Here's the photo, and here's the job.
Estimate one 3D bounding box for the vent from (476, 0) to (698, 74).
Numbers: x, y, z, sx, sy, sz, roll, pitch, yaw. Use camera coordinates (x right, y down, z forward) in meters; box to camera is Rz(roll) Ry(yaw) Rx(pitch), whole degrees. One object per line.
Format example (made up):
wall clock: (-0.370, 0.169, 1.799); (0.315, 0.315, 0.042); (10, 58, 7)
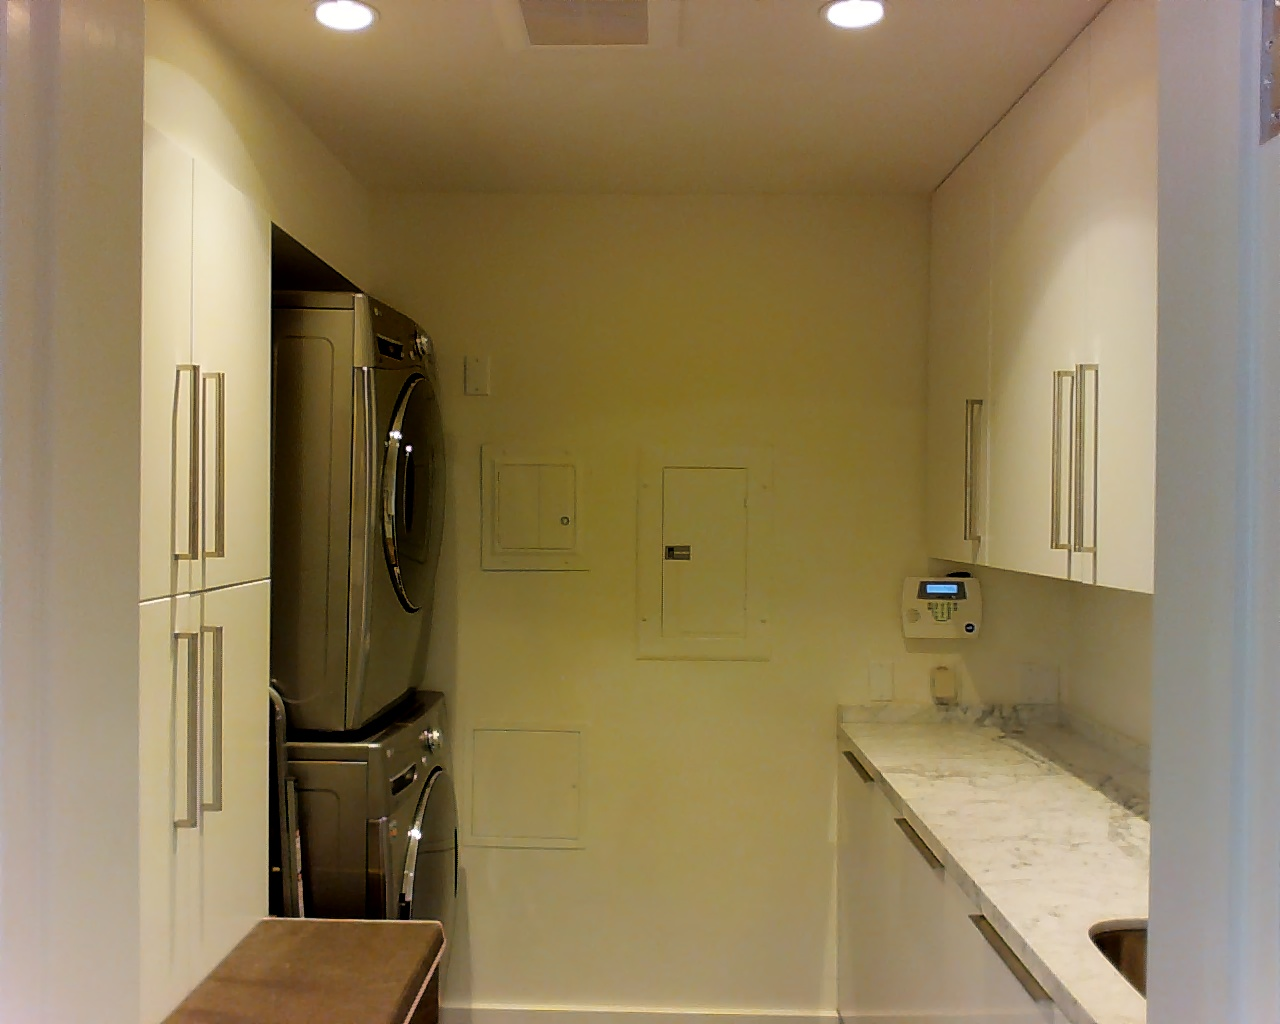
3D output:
vent: (-0.090, -0.890, 1.950); (0.380, 0.030, 0.390); (1, 1, 1)

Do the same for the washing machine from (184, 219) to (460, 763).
washing machine: (-0.760, -0.050, 2.720); (0.450, 1.180, 0.750); (1, 1, 1)
